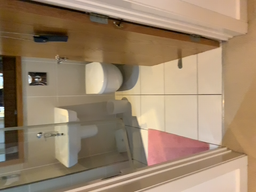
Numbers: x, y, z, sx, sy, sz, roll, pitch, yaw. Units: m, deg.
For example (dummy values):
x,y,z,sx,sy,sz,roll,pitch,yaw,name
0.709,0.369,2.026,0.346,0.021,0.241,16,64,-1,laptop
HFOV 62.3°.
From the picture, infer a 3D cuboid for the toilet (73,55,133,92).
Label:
x,y,z,sx,sy,sz,roll,pitch,yaw,name
-0.310,-0.250,2.520,0.560,0.490,0.370,5,96,54,toilet
